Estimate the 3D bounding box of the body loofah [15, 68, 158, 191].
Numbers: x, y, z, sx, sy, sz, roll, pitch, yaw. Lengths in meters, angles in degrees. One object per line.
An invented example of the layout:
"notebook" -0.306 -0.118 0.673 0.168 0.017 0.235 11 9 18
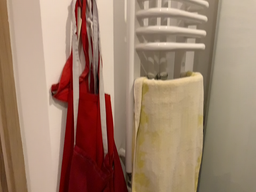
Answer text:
"body loofah" -0.090 0.380 0.620 0.320 0.890 0.130 -11 19 -42
